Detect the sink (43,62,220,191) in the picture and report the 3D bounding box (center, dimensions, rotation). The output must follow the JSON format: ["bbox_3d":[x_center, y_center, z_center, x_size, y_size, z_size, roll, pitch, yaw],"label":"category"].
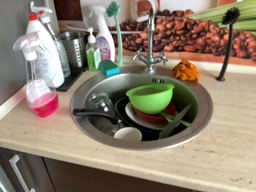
[{"bbox_3d":[0.050,0.080,0.830,0.510,0.180,0.480,8,37,13],"label":"sink"}]
